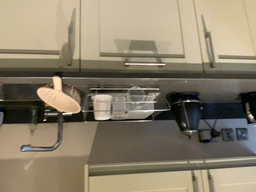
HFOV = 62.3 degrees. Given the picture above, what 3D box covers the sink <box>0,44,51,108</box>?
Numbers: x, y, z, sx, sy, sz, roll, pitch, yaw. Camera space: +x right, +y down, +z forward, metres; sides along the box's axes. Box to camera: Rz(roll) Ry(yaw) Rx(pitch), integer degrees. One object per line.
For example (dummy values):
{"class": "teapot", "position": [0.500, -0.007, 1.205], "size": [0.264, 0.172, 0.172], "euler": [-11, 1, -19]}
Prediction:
{"class": "sink", "position": [-0.670, -0.090, 1.210], "size": [0.350, 0.220, 0.440], "euler": [0, 164, -9]}
